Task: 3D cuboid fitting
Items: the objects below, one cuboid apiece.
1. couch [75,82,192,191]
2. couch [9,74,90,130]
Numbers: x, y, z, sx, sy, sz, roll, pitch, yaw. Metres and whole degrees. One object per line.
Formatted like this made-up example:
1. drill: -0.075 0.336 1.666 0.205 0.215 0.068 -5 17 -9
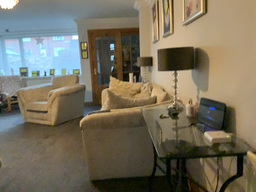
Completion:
1. couch: 0.020 0.300 2.920 1.010 0.730 2.120 -2 10 -2
2. couch: -1.640 0.050 4.530 1.220 0.950 0.970 3 11 29
